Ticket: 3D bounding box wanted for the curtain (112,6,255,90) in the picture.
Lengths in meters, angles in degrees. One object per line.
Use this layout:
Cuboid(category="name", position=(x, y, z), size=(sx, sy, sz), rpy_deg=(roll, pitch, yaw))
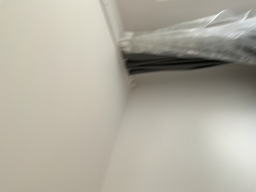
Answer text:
Cuboid(category="curtain", position=(0.680, -0.340, 1.570), size=(0.240, 1.520, 0.490), rpy_deg=(-67, -31, -49))
